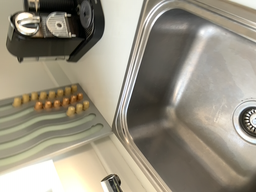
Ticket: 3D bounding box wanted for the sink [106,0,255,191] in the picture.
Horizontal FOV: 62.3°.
[{"bbox_3d":[0.190,0.020,0.560,0.460,0.200,0.520,48,134,37],"label":"sink"}]
